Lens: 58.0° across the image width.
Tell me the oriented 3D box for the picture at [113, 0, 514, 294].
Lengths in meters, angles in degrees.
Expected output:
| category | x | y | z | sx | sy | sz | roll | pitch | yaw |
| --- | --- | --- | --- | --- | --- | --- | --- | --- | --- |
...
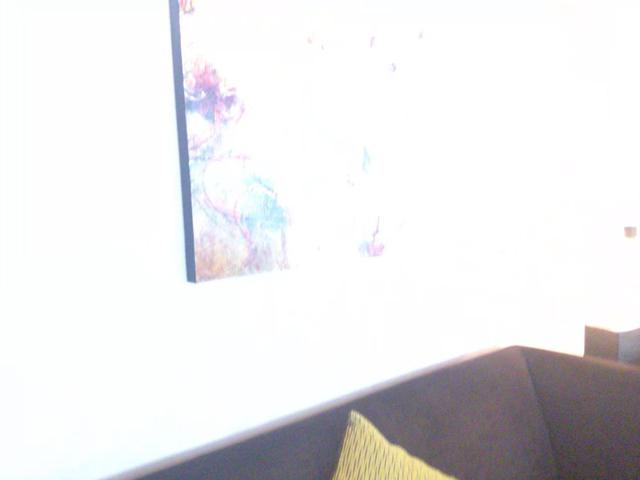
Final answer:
| category | x | y | z | sx | sy | sz | roll | pitch | yaw |
| --- | --- | --- | --- | --- | --- | --- | --- | --- | --- |
| picture | 0.020 | -0.500 | 1.670 | 1.090 | 1.100 | 0.200 | -11 | 1 | -31 |
